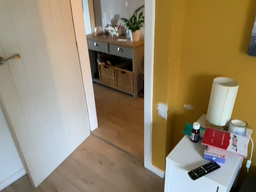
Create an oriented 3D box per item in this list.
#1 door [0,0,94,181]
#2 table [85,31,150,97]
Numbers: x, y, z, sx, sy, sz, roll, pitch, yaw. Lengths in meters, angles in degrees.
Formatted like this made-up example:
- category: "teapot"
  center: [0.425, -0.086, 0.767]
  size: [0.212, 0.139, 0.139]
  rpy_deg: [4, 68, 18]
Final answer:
- category: "door"
  center: [-0.610, -0.280, 1.630]
  size: [0.070, 1.890, 0.760]
  rpy_deg: [14, 33, 25]
- category: "table"
  center: [-0.160, -0.500, 3.140]
  size: [0.930, 0.730, 0.320]
  rpy_deg: [21, 37, 33]
